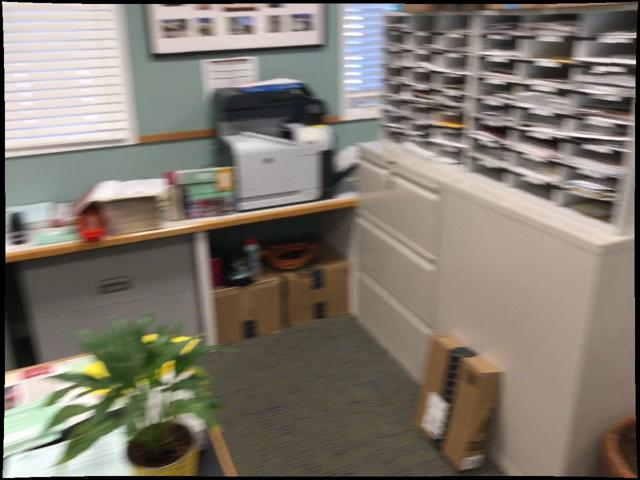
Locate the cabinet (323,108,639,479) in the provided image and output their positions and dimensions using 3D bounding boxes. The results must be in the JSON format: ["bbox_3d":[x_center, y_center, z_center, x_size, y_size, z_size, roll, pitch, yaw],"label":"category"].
[{"bbox_3d":[0.619,0.110,2.460,0.540,1.021,1.700,-12,24,-20],"label":"cabinet"}]

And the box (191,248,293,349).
[{"bbox_3d":[-0.400,0.290,2.990,0.440,0.360,0.250,-12,24,-20],"label":"box"}]

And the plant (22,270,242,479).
[{"bbox_3d":[-0.340,0.300,1.060,0.290,0.330,0.350,-11,24,-20],"label":"plant"}]

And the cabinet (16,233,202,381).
[{"bbox_3d":[-0.959,0.310,2.720,0.729,0.570,0.070,-12,24,-21],"label":"cabinet"}]

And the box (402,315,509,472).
[{"bbox_3d":[0.490,0.561,2.180,0.170,0.380,0.410,-12,24,-20],"label":"box"}]

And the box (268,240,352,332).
[{"bbox_3d":[-0.050,0.240,3.100,0.390,0.370,0.190,-12,24,-20],"label":"box"}]
